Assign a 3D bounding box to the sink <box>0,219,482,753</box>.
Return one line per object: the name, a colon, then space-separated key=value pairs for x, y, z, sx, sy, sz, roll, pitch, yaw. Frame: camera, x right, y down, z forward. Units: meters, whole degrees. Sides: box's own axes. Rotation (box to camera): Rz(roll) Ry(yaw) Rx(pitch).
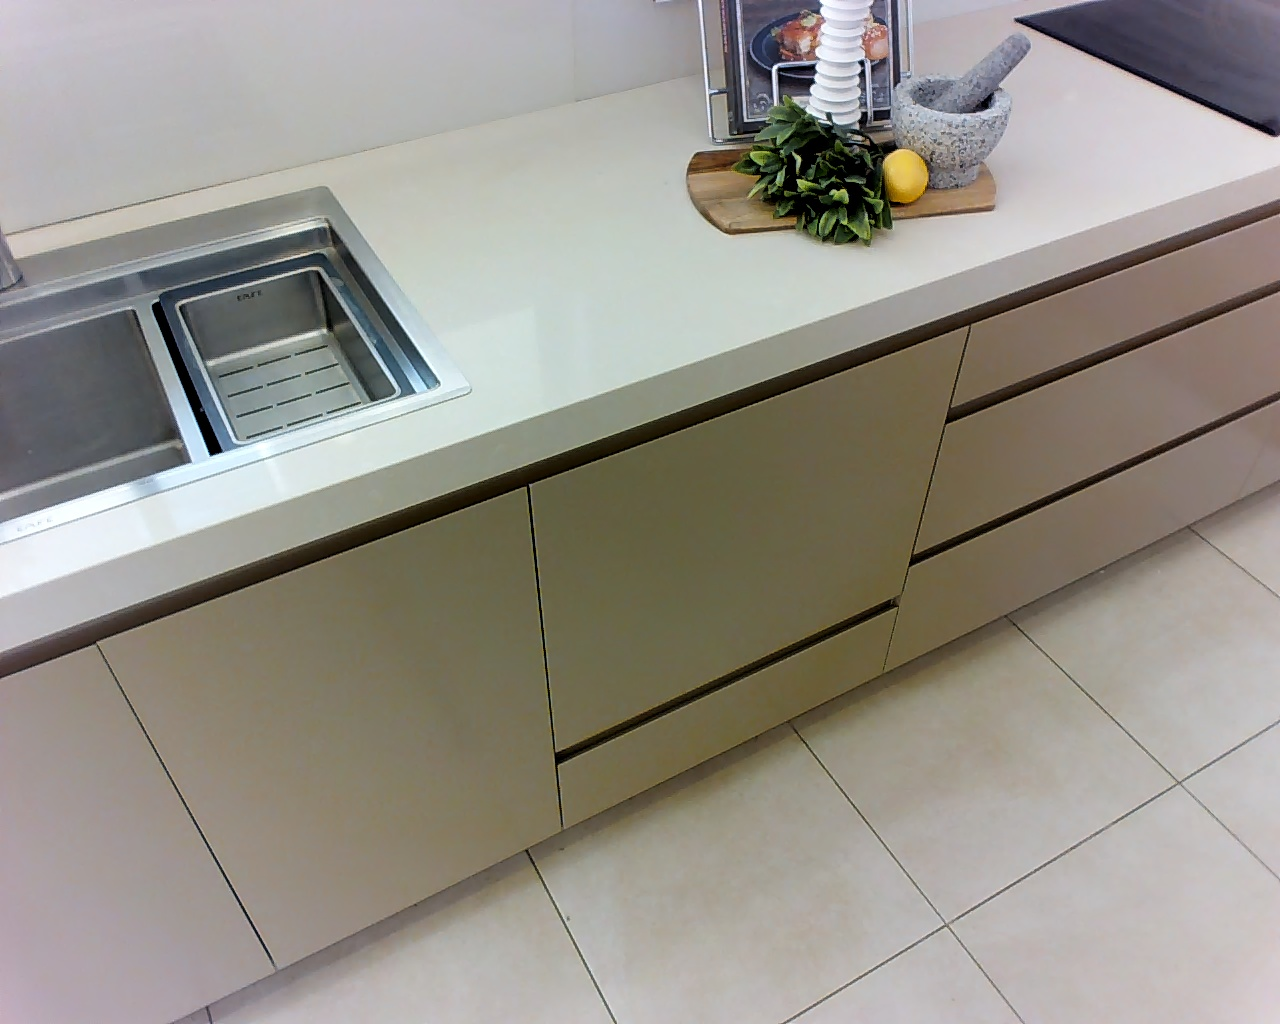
sink: x=-0.620 y=-0.020 z=1.160 sx=0.770 sy=0.260 sz=0.400 roll=-21 pitch=48 yaw=-21
